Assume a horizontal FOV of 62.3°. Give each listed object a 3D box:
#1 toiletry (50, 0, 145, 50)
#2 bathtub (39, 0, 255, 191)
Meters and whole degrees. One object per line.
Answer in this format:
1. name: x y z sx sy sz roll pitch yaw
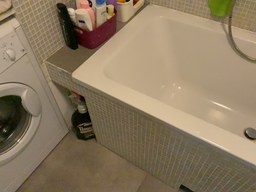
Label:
1. toiletry: -0.120 -0.500 1.120 0.180 0.200 0.540 25 56 21
2. bathtub: 0.570 0.150 1.090 1.860 0.600 0.740 26 56 21
